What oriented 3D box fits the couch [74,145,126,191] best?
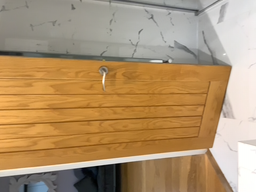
[{"bbox_3d":[-0.580,1.810,4.190,0.710,0.880,1.450,180,89,-70],"label":"couch"}]
